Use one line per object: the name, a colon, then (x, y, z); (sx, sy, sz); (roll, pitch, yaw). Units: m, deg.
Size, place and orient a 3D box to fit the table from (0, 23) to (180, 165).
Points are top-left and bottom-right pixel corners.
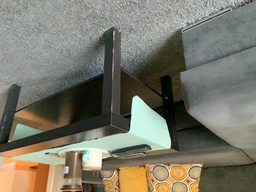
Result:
table: (-0.260, 0.110, 1.270); (0.910, 0.450, 0.580); (-18, 149, 33)
